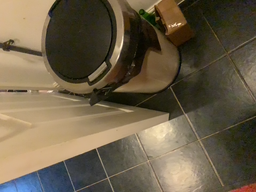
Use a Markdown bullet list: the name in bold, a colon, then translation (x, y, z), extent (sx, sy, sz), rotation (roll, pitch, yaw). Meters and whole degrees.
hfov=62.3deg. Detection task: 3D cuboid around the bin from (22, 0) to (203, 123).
- **bin**: translation (-0.020, -0.180, 0.970), extent (0.490, 0.590, 0.370), rotation (-29, 77, 25)
